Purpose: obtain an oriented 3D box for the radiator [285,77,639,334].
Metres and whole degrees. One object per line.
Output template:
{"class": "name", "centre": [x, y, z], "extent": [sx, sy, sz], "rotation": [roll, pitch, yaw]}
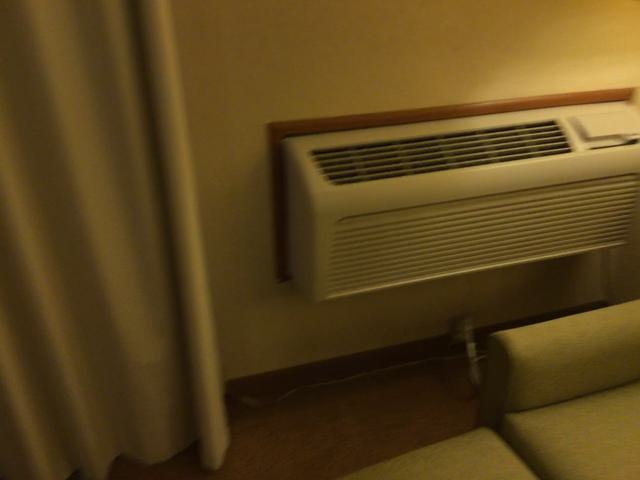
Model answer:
{"class": "radiator", "centre": [0.490, -0.120, 1.580], "extent": [1.150, 0.540, 0.190], "rotation": [-8, 31, -16]}
